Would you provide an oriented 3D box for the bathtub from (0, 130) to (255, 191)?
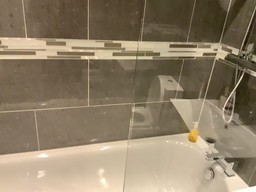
[{"bbox_3d":[-0.190,0.720,1.250,1.670,0.600,0.690,-2,26,-17],"label":"bathtub"}]
